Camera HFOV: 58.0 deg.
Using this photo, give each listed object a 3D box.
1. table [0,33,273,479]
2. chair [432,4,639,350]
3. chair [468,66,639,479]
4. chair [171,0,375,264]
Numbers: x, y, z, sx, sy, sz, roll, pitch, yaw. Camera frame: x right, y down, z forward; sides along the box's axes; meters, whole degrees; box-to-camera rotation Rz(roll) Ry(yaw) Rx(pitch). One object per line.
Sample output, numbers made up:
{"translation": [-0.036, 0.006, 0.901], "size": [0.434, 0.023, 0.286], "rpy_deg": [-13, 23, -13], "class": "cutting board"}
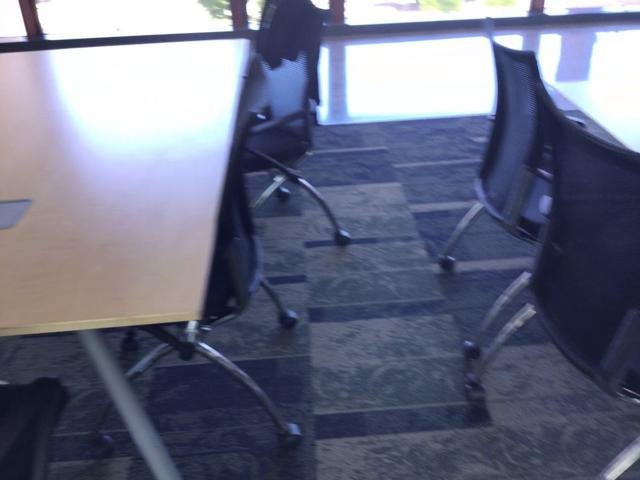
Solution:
{"translation": [-0.770, -0.070, 1.920], "size": [1.130, 0.760, 1.920], "rpy_deg": [-2, 32, -2], "class": "table"}
{"translation": [0.720, -0.190, 1.750], "size": [0.580, 0.890, 0.510], "rpy_deg": [-2, 32, -2], "class": "chair"}
{"translation": [0.720, 0.150, 1.270], "size": [0.560, 0.910, 0.550], "rpy_deg": [-1, 32, 0], "class": "chair"}
{"translation": [-0.180, -0.490, 2.270], "size": [0.520, 0.890, 0.580], "rpy_deg": [-18, 35, -25], "class": "chair"}
